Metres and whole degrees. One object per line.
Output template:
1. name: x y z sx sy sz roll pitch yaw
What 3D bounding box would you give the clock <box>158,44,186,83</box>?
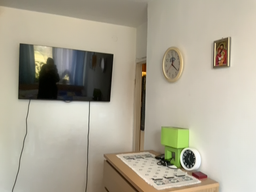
1. clock: 0.360 -0.260 1.770 0.050 0.280 0.310 2 0 -23
